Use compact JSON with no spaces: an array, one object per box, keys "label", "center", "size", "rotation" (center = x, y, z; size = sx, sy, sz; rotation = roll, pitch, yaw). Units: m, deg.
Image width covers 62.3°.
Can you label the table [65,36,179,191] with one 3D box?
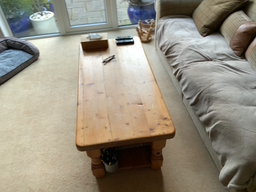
[{"label":"table","center":[-0.090,0.040,1.770],"size":[0.620,0.490,1.240],"rotation":[-5,43,-4]}]

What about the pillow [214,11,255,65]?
[{"label":"pillow","center":[0.980,-0.520,1.880],"size":[0.190,0.300,0.380],"rotation":[-9,43,-7]}]

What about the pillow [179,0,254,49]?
[{"label":"pillow","center":[0.860,-0.850,2.160],"size":[0.220,0.510,0.490],"rotation":[27,32,-34]}]

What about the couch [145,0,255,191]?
[{"label":"couch","center":[1.040,-0.300,1.810],"size":[1.240,0.890,2.360],"rotation":[-8,43,-7]}]
